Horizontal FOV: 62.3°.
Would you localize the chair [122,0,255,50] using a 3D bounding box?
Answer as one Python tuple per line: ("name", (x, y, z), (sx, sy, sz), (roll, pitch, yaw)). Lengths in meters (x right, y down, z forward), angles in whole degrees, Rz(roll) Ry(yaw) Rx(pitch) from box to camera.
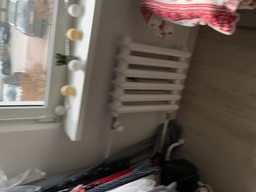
("chair", (0.490, -0.580, 1.130), (0.580, 0.770, 0.520), (30, 113, 50))
